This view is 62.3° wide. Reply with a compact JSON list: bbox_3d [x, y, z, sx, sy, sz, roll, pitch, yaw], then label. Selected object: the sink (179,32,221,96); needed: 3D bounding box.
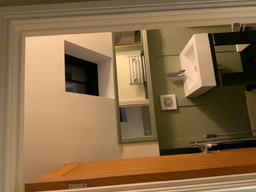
[{"bbox_3d":[0.700,-0.300,2.140,0.420,0.200,0.510,98,167,-77],"label":"sink"}]
